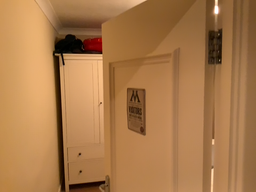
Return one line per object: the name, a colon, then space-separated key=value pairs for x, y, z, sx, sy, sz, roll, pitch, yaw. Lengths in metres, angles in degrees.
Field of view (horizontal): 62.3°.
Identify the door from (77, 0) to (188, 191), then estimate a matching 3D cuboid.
door: x=-0.050 y=0.580 z=1.180 sx=0.140 sy=1.940 sz=0.860 roll=-4 pitch=7 yaw=-29
